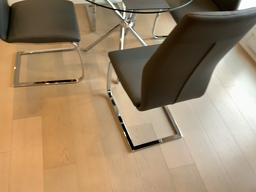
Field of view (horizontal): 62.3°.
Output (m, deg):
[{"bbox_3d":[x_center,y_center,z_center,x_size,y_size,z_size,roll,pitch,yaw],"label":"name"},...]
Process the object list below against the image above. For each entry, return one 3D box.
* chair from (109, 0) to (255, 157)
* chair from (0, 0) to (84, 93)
[{"bbox_3d":[0.260,-0.180,1.250,0.550,1.020,0.580,-12,55,-17],"label":"chair"},{"bbox_3d":[-0.620,-0.560,1.410,0.540,1.020,0.490,-8,54,-14],"label":"chair"}]
